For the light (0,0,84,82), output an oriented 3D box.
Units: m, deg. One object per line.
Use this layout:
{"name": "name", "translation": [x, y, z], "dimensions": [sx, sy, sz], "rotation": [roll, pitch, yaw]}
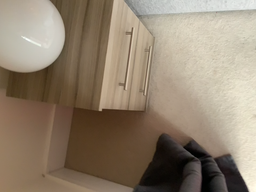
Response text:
{"name": "light", "translation": [-0.320, -0.200, 0.640], "dimensions": [0.260, 0.210, 0.260], "rotation": [8, 88, 22]}
